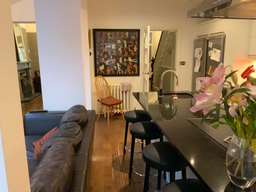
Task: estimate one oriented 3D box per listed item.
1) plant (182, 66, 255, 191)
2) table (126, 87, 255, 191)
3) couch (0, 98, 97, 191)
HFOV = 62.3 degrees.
[{"bbox_3d":[0.480,0.140,0.910,0.360,0.500,0.340,-2,12,-8],"label":"plant"},{"bbox_3d":[0.620,0.570,2.210,0.910,0.880,2.520,-2,12,-9],"label":"table"},{"bbox_3d":[-0.830,0.680,2.020,0.990,0.790,2.330,-2,12,-7],"label":"couch"}]
